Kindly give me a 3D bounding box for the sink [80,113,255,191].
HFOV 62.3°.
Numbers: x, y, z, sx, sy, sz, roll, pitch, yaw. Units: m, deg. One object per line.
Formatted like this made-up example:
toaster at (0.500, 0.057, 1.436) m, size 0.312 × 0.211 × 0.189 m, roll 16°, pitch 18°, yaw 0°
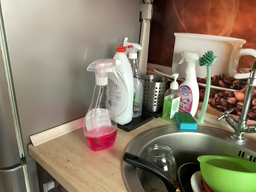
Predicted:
sink at (0.220, 0.280, 0.590) m, size 0.510 × 0.180 × 0.480 m, roll 21°, pitch 27°, yaw 38°
